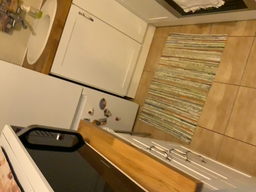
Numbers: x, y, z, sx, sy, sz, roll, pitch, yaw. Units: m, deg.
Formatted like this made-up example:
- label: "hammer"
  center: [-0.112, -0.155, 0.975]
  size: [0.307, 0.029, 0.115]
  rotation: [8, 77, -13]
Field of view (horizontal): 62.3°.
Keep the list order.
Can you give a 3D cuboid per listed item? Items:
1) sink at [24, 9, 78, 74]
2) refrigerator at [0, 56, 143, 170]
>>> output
- label: "sink"
  center: [-0.650, -0.440, 1.760]
  size: [0.410, 0.180, 0.440]
  rotation: [15, 88, 48]
- label: "refrigerator"
  center: [-0.740, 0.120, 1.690]
  size: [0.710, 1.570, 0.650]
  rotation: [15, 88, 48]
